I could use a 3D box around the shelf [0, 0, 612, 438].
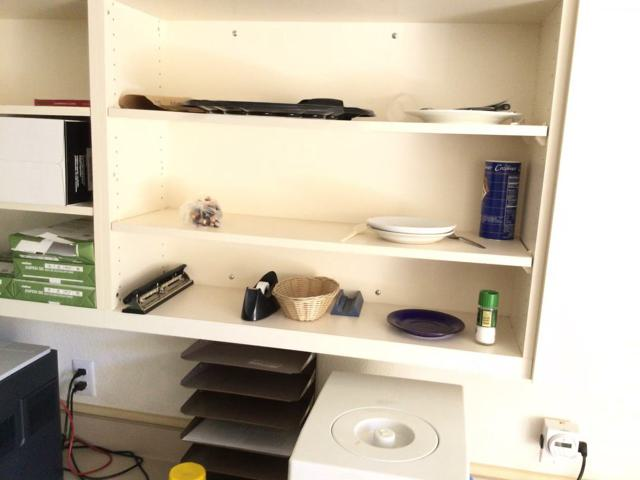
[{"bbox_3d":[-0.470,-0.180,1.380,1.960,0.810,0.460,6,9,12],"label":"shelf"}]

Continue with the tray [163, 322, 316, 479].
[{"bbox_3d":[-0.210,0.490,1.540,0.320,0.450,0.240,6,9,12],"label":"tray"}]
